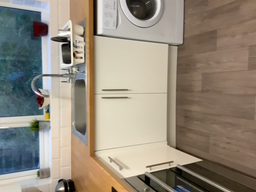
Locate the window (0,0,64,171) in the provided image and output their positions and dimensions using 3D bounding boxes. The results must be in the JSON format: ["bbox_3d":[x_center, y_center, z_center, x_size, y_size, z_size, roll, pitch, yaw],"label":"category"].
[{"bbox_3d":[-1.230,-0.100,1.990,0.120,1.190,1.610,8,99,61],"label":"window"}]
